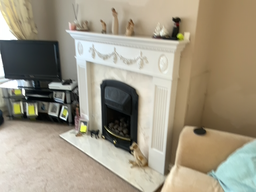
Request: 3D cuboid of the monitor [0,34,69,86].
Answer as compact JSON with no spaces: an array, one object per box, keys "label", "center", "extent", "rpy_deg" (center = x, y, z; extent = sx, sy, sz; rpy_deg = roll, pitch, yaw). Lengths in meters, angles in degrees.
[{"label":"monitor","center":[-1.260,-0.470,2.770],"extent":[0.960,0.620,0.050],"rpy_deg":[4,21,4]}]
